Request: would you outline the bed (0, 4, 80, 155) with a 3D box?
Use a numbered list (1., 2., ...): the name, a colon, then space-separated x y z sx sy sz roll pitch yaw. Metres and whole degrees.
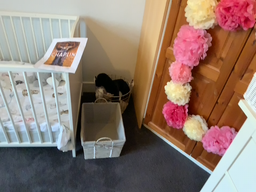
1. bed: -1.130 -0.130 1.470 1.480 0.790 0.730 2 40 -8
